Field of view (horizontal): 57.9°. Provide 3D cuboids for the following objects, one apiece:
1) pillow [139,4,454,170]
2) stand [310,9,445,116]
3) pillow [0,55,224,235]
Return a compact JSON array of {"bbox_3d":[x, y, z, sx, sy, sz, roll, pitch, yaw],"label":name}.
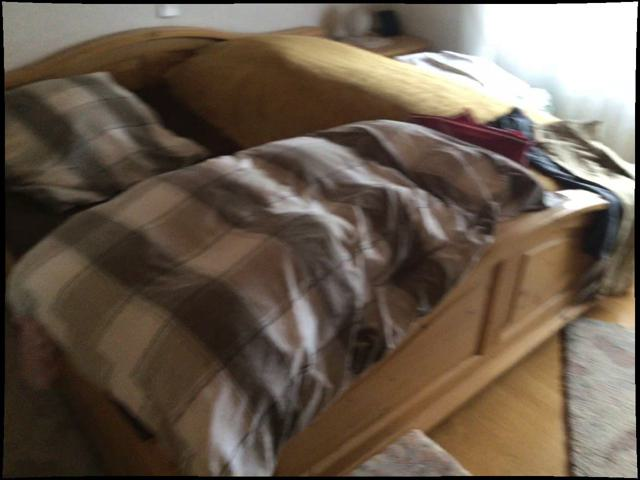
[{"bbox_3d":[-0.110,-0.811,2.780,1.119,0.320,0.950,-25,41,-33],"label":"pillow"},{"bbox_3d":[0.340,-1.101,3.520,0.630,0.420,0.490,-25,41,-33],"label":"stand"},{"bbox_3d":[-0.959,-0.440,2.300,0.830,0.260,0.790,-25,41,-33],"label":"pillow"}]
